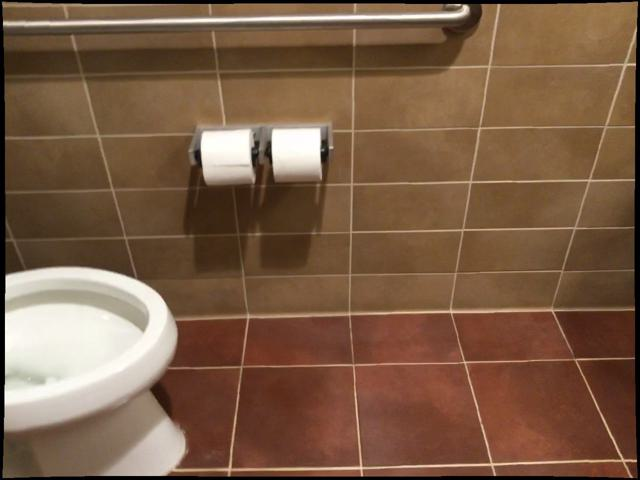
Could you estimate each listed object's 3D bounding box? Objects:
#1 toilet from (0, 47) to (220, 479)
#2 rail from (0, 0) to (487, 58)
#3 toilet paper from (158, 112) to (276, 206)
[{"bbox_3d":[-0.679,0.150,1.130,0.779,0.871,0.460,-1,38,2],"label":"toilet"},{"bbox_3d":[-0.310,-0.440,1.210,1.279,0.060,0.100,-1,38,2],"label":"rail"},{"bbox_3d":[-0.230,-0.190,1.350,0.230,0.150,0.160,-1,38,2],"label":"toilet paper"}]
